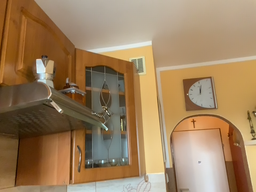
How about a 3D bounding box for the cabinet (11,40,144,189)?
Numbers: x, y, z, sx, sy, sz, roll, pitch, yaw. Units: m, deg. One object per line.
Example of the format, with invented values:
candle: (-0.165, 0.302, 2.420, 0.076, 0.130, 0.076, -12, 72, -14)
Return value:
cabinet: (-0.250, 0.150, 1.350, 0.590, 0.720, 0.570, -6, -16, 9)
